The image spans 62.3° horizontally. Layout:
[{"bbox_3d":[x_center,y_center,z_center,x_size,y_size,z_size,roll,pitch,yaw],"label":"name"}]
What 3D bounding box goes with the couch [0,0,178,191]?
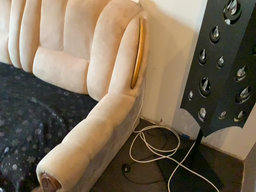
[{"bbox_3d":[-0.820,-0.250,1.420,1.880,1.000,1.030,22,40,21],"label":"couch"}]
